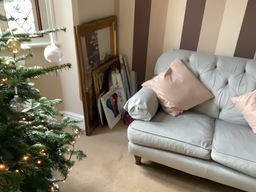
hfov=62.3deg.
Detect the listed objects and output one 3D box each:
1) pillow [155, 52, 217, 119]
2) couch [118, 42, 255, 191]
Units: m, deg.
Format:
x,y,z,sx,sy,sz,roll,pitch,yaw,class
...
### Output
x,y,z,sx,sy,sz,roll,pitch,yaw,class
0.490,-0.070,1.910,0.450,0.480,0.210,-37,69,-9,pillow
0.790,0.140,1.880,1.450,0.830,1.000,14,30,20,couch
